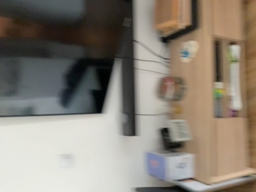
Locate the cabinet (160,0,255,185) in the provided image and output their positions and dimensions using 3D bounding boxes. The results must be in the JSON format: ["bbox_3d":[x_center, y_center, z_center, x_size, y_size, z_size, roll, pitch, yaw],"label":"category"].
[{"bbox_3d":[0.610,-0.130,1.670,0.410,0.500,1.410,-10,81,62],"label":"cabinet"}]

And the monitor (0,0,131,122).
[{"bbox_3d":[-0.330,-0.410,1.060,0.040,0.710,1.220,50,135,51],"label":"monitor"}]

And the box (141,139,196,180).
[{"bbox_3d":[0.280,0.440,1.540,0.340,0.220,0.200,-8,83,62],"label":"box"}]
